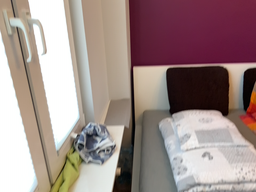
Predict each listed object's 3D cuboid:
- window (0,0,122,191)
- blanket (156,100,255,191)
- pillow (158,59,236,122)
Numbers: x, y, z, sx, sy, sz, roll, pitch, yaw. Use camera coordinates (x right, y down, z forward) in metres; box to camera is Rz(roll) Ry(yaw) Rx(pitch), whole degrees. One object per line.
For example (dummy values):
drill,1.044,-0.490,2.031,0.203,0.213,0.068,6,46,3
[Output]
window,-0.310,-0.250,0.710,0.220,1.480,2.370,0,22,6
blanket,0.500,0.300,1.410,0.520,0.200,0.870,-2,22,1
pillow,0.610,-0.050,1.960,0.560,0.480,0.180,7,21,-1
